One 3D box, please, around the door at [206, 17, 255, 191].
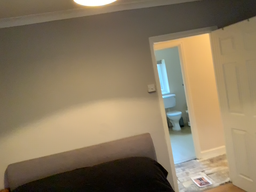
[{"bbox_3d":[1.290,0.170,2.340,0.040,1.880,0.800,-13,6,-18],"label":"door"}]
